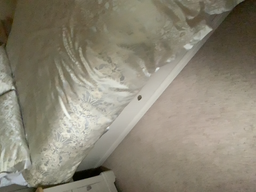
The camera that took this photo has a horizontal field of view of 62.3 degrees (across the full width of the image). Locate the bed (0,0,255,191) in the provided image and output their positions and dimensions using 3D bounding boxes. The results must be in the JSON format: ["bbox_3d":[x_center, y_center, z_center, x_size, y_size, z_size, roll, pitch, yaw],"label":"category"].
[{"bbox_3d":[-0.520,-0.460,1.870,2.150,0.700,1.850,-54,52,32],"label":"bed"}]
